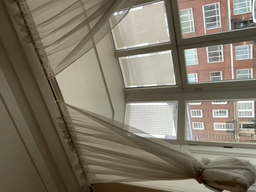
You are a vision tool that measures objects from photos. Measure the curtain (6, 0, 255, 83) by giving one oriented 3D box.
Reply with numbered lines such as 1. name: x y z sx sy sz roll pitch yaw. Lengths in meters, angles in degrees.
1. curtain: -0.040 -0.580 1.190 0.270 1.490 0.870 -46 -52 -55

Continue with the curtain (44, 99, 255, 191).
1. curtain: 0.120 0.450 1.590 0.260 1.430 0.770 -49 -50 -54
